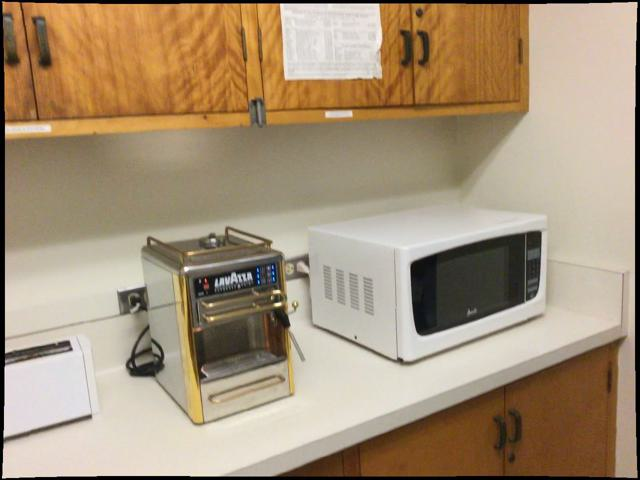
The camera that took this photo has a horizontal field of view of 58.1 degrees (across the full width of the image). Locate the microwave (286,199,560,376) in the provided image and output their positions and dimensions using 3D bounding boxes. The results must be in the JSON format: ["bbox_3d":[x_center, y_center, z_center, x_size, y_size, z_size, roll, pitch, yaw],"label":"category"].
[{"bbox_3d":[0.299,0.090,1.720,0.609,0.311,0.500,-12,13,-28],"label":"microwave"}]
